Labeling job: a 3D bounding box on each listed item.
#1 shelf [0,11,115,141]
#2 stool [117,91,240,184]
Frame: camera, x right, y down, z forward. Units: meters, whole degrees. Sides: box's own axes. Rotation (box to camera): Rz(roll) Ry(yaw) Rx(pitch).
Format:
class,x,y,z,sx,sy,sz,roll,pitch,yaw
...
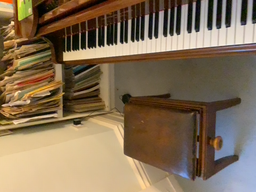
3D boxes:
class,x,y,z,sx,sy,sz,roll,pitch,yaw
shelf,-1.010,-0.140,1.550,0.460,1.990,0.850,7,99,46
stool,0.300,0.180,1.290,0.530,0.500,0.350,7,99,46
